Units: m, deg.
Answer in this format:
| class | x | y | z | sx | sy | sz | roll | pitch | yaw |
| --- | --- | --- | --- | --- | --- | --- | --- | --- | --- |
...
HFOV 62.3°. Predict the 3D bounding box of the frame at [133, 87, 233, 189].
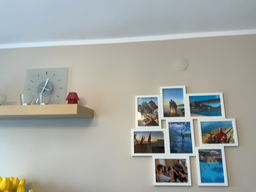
| class | x | y | z | sx | sy | sz | roll | pitch | yaw |
| --- | --- | --- | --- | --- | --- | --- | --- | --- | --- |
| frame | 0.290 | 0.230 | 1.220 | 0.510 | 0.550 | 0.080 | -1 | -14 | 4 |
